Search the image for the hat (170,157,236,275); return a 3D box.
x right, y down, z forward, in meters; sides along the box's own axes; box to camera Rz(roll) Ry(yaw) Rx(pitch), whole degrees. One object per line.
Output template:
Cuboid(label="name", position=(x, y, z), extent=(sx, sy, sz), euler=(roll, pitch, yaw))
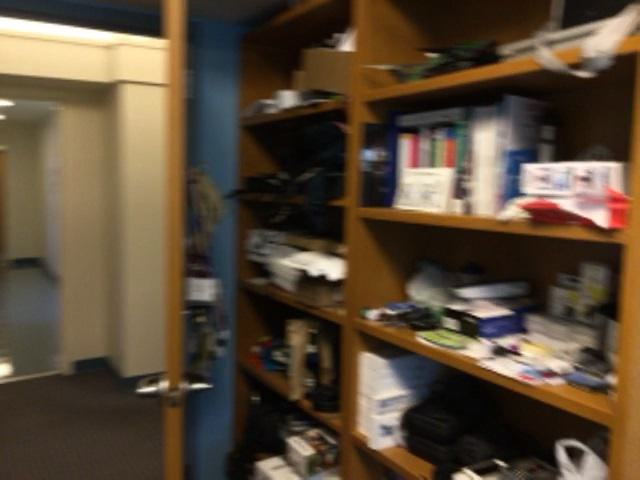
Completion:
Cuboid(label="hat", position=(-0.400, -0.080, 1.970), extent=(0.180, 0.380, 0.130), euler=(0, 3, -32))
